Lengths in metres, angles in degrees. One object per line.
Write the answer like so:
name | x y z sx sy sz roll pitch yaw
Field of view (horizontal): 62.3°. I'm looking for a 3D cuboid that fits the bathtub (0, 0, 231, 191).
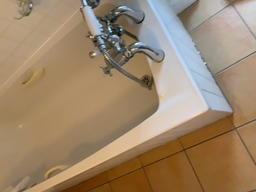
bathtub | -0.370 0.170 1.350 1.680 0.550 0.680 -31 71 26
